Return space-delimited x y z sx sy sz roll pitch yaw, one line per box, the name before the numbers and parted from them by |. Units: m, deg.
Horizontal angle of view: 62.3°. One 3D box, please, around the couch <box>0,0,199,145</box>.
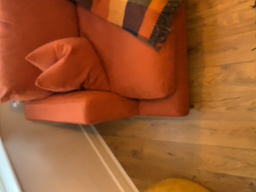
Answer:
couch | -0.250 -0.340 1.310 1.030 0.840 0.970 -2 92 40
